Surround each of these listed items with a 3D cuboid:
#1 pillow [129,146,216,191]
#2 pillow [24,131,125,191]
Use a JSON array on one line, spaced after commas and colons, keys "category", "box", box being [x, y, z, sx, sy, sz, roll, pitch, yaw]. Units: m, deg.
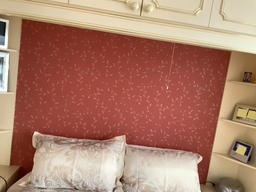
[{"category": "pillow", "box": [0.340, 0.710, 1.740, 0.560, 0.340, 0.270, -24, -4, -6]}, {"category": "pillow", "box": [-0.400, 0.530, 1.670, 0.680, 0.340, 0.200, -11, 0, -8]}]
